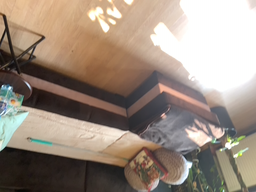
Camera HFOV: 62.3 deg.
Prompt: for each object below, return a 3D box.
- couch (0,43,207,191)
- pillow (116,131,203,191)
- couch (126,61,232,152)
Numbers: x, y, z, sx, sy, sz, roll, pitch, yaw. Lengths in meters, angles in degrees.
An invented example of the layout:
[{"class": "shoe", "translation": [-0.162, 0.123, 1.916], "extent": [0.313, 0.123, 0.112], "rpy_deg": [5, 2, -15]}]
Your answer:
[{"class": "couch", "translation": [-0.480, 0.690, 2.030], "extent": [2.340, 1.270, 1.100], "rpy_deg": [21, 135, -32]}, {"class": "pillow", "translation": [0.330, 0.790, 2.370], "extent": [0.600, 0.420, 0.670], "rpy_deg": [26, 132, -36]}, {"class": "couch", "translation": [0.520, 0.160, 2.160], "extent": [0.950, 0.480, 0.490], "rpy_deg": [25, 133, -35]}]
